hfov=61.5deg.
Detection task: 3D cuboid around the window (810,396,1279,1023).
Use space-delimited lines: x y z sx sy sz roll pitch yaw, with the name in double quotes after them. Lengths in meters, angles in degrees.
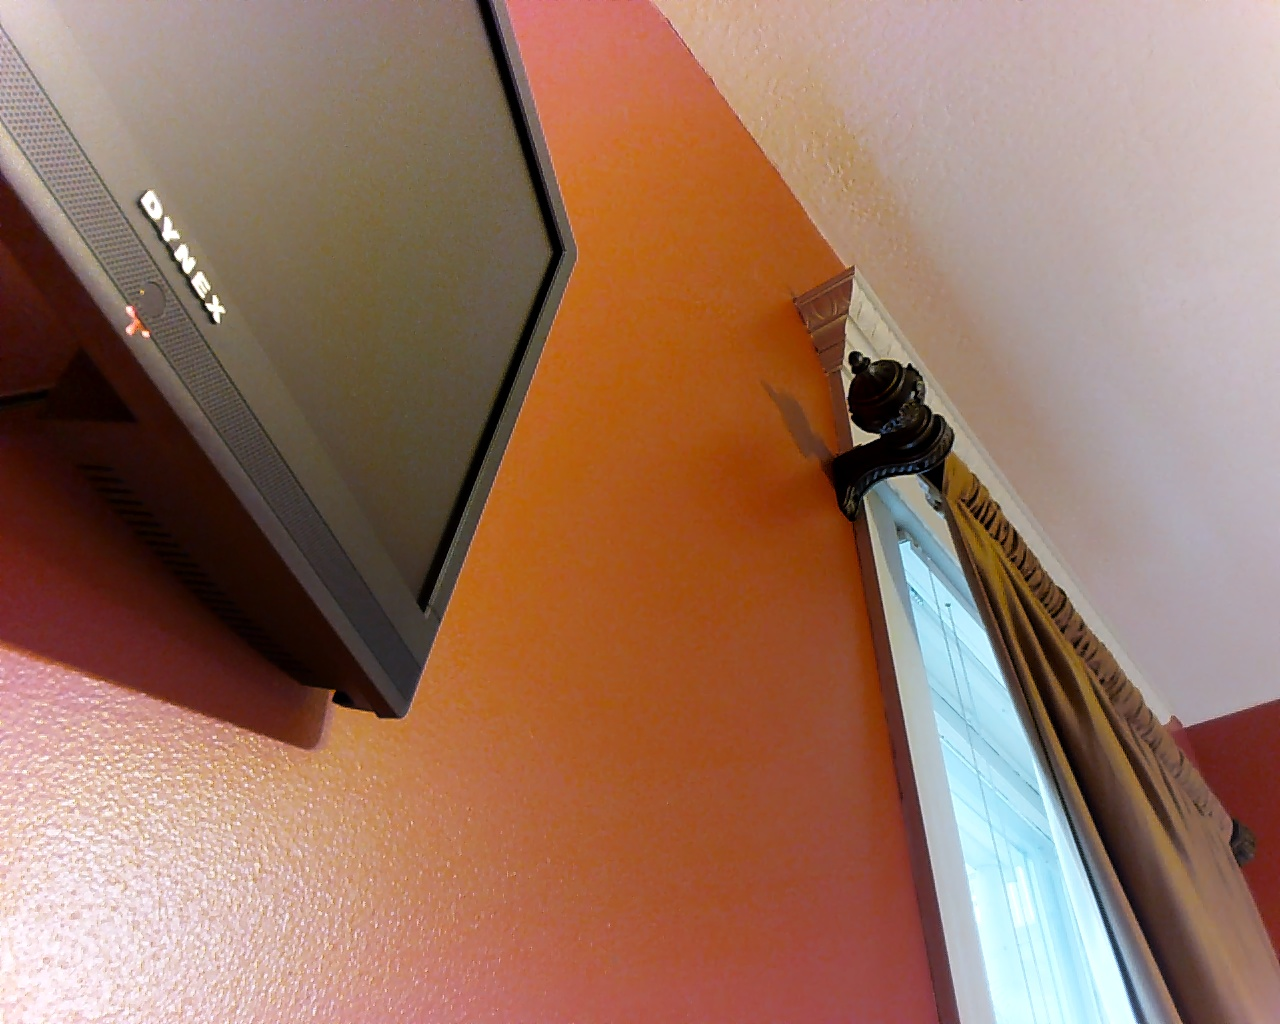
0.660 0.960 0.960 0.160 1.920 1.290 -27 -48 27 "window"
